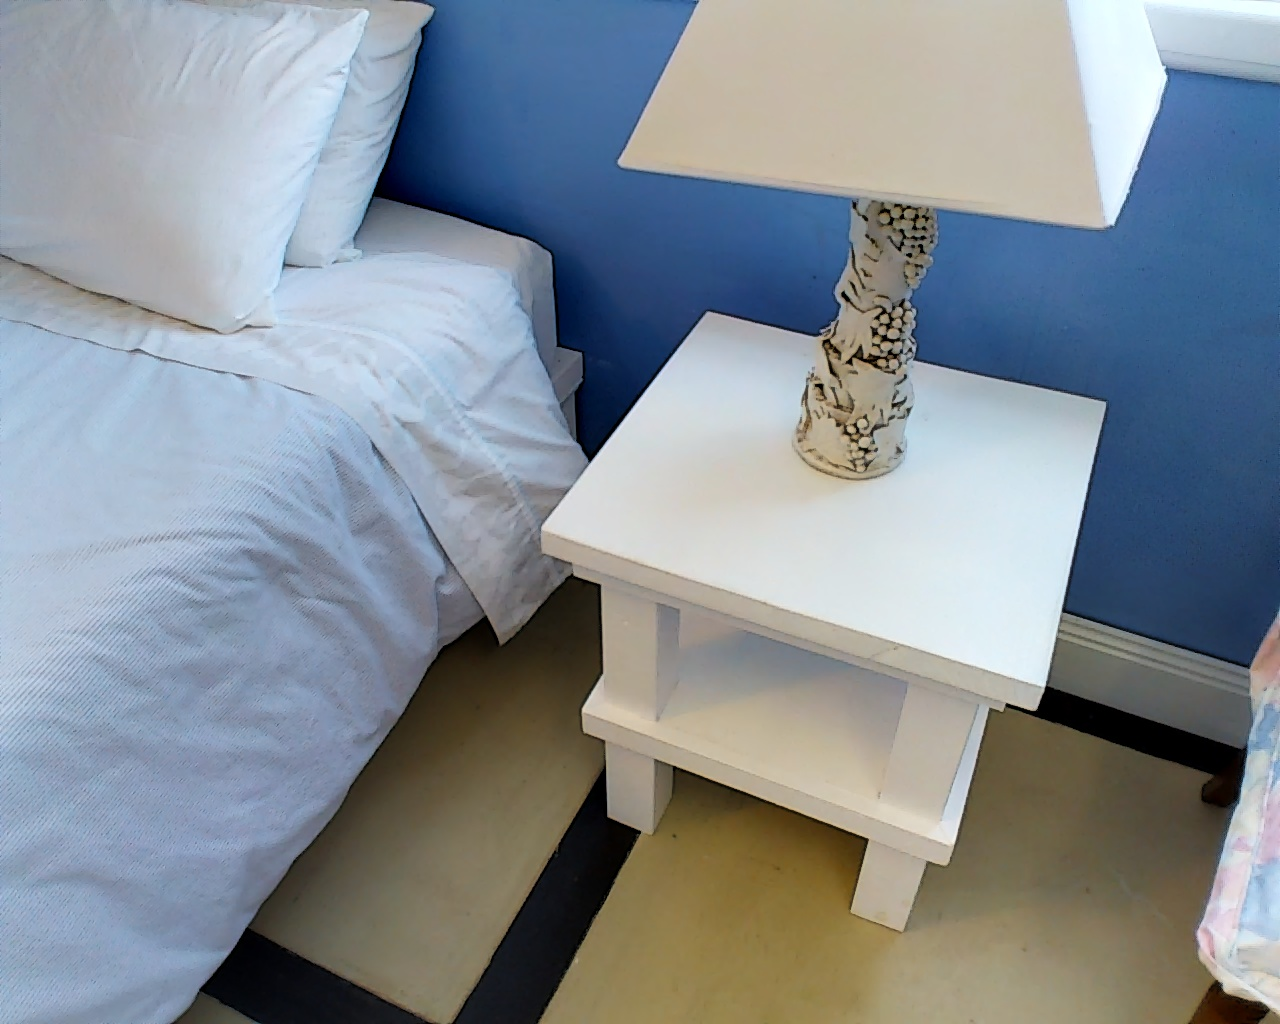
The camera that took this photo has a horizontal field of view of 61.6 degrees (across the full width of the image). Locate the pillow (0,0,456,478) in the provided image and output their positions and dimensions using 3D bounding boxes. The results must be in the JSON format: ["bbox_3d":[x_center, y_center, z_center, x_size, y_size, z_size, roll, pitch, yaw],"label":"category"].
[{"bbox_3d":[-0.710,-0.520,1.440,0.220,0.800,0.490,-28,20,44],"label":"pillow"}]

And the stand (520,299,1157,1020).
[{"bbox_3d":[0.240,0.160,1.340,0.550,0.570,0.500,17,44,19],"label":"stand"}]

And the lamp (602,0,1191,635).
[{"bbox_3d":[0.220,-0.280,0.940,0.380,0.630,0.340,17,44,19],"label":"lamp"}]
